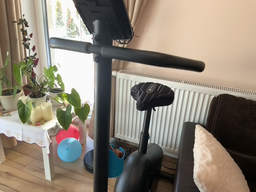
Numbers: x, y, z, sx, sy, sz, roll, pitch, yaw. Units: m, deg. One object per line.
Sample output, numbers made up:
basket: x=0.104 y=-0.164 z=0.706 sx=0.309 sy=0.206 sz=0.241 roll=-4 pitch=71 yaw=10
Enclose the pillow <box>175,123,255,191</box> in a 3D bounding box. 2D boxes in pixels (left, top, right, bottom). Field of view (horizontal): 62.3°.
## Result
pillow: x=0.450 y=0.370 z=1.060 sx=0.160 sy=0.380 sz=0.320 roll=47 pitch=30 yaw=-7
